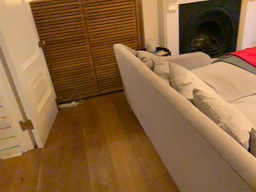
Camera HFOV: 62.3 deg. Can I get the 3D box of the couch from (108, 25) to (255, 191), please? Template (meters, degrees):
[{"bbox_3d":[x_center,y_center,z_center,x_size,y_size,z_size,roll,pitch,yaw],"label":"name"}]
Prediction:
[{"bbox_3d":[0.630,0.140,1.410,1.050,0.760,2.150,-12,28,-11],"label":"couch"}]

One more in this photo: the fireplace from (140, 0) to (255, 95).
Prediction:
[{"bbox_3d":[1.000,-0.840,2.800,1.490,1.200,0.630,-13,28,-14],"label":"fireplace"}]
